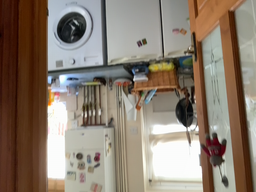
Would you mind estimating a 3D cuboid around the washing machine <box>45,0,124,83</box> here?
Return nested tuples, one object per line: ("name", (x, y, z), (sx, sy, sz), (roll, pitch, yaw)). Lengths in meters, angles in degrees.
("washing machine", (-0.420, -0.650, 2.230), (0.570, 0.890, 0.640), (-4, 174, 13))

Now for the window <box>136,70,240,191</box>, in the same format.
("window", (0.610, 0.430, 2.300), (0.940, 1.300, 0.260), (-4, 174, 12))

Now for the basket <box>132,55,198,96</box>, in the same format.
("basket", (0.390, -0.180, 2.180), (0.580, 0.270, 0.550), (-4, 174, 14))
